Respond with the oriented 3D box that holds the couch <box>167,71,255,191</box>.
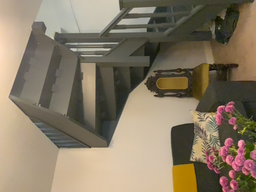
[{"bbox_3d":[0.890,1.020,1.920,0.950,0.800,2.340,84,-174,-61],"label":"couch"}]
